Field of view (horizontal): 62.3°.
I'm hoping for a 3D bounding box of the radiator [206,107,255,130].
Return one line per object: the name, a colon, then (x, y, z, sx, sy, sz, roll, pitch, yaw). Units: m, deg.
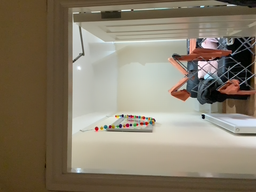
radiator: (1.510, 0.270, 2.760, 1.100, 0.670, 0.160, -6, -83, -85)
